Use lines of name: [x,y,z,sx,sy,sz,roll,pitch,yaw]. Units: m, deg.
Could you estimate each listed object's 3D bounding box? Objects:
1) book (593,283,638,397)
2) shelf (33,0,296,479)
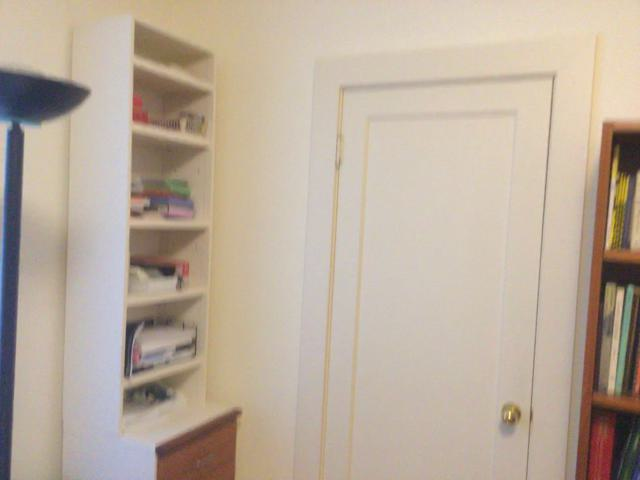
book: [0.780,0.260,1.530,0.080,0.280,0.070,5,0,23]
shelf: [-0.570,0.270,2.210,0.550,2.160,0.670,5,0,23]
